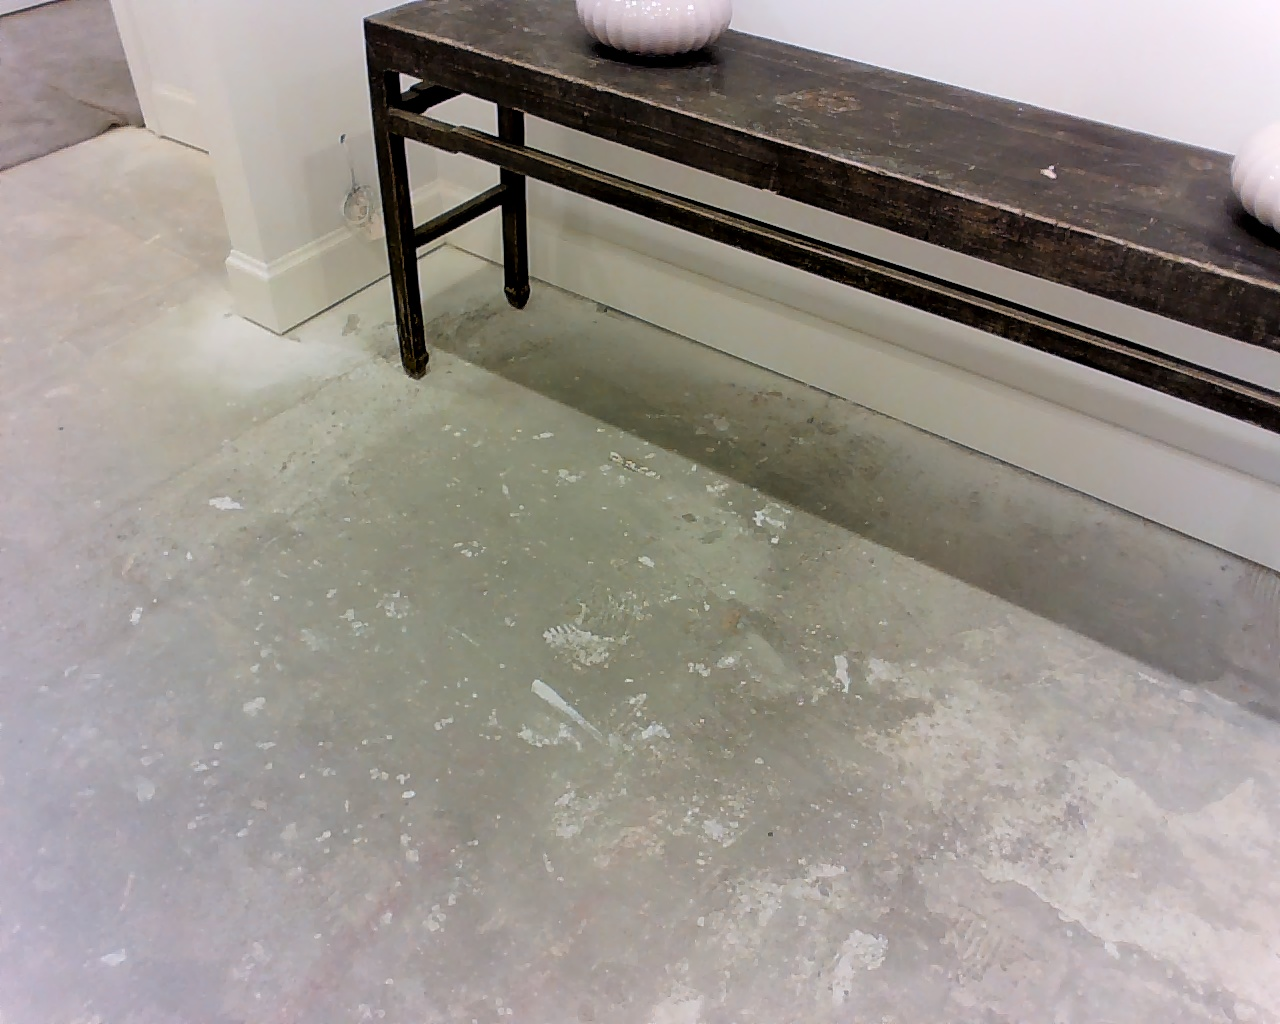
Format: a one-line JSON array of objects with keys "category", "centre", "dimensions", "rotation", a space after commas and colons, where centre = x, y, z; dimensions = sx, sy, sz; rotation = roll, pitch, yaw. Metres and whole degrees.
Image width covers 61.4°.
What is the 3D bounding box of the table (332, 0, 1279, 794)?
[{"category": "table", "centre": [0.500, -0.370, 2.140], "dimensions": [2.340, 0.870, 0.590], "rotation": [25, 47, 25]}]
